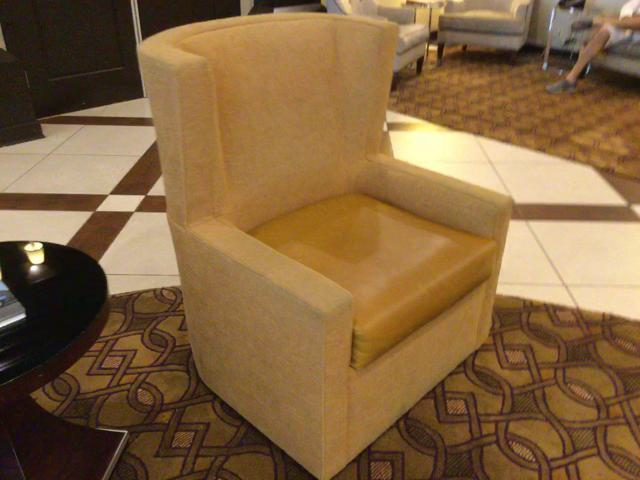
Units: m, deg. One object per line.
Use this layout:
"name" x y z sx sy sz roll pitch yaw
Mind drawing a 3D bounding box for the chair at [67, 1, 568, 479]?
"chair" -0.010 -0.070 1.750 0.920 1.110 0.920 25 36 39
